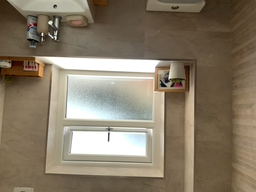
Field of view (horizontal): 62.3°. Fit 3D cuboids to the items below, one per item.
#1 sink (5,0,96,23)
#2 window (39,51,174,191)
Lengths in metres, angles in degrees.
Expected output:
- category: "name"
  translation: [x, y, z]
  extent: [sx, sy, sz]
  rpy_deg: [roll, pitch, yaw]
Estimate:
- category: "sink"
  translation: [-0.440, -0.570, 1.190]
  extent: [0.450, 0.120, 0.450]
  rpy_deg: [2, 175, 0]
- category: "window"
  translation: [-0.150, 0.210, 1.800]
  extent: [0.980, 1.060, 0.370]
  rpy_deg: [2, 175, 0]
